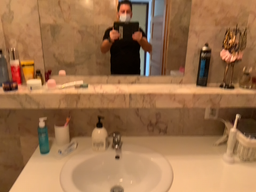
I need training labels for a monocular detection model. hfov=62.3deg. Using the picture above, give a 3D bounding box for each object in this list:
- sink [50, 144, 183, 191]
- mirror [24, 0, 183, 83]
[{"bbox_3d":[-0.050,0.400,0.950,0.500,0.170,0.390,0,18,-3],"label":"sink"},{"bbox_3d":[-0.110,-0.440,1.060,0.740,0.730,0.130,-1,18,-5],"label":"mirror"}]
